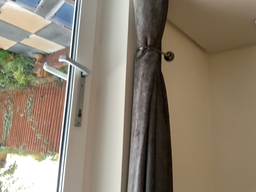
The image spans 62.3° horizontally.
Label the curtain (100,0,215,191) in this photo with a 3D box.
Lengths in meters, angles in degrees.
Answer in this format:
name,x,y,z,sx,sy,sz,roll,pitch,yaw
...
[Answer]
name,x,y,z,sx,sy,sz,roll,pitch,yaw
curtain,0.150,-0.050,0.920,0.250,2.290,0.420,-8,165,43
